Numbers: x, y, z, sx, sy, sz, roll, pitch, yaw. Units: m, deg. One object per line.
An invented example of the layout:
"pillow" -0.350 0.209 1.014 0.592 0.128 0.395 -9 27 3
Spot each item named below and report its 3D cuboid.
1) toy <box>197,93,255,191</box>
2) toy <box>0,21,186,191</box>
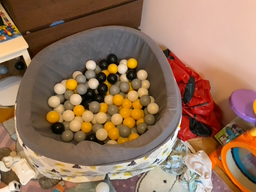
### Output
"toy" 0.690 0.300 1.010 0.280 0.520 0.490 -28 60 -24
"toy" -0.150 0.050 1.170 0.800 0.420 0.760 11 52 4
